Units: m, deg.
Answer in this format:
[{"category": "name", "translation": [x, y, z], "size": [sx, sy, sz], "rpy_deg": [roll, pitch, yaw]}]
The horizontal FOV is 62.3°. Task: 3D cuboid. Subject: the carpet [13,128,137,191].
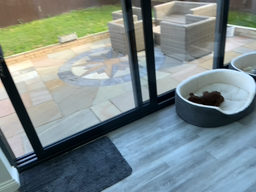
[{"category": "carpet", "translation": [-0.480, 0.640, 1.900], "size": [0.970, 0.030, 0.560], "rpy_deg": [-22, 33, -24]}]
